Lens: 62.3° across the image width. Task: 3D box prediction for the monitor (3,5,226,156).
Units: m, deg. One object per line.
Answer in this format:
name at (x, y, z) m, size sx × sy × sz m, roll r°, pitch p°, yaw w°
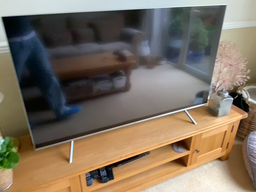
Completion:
monitor at (0.030, -0.120, 1.280) m, size 1.210 × 0.750 × 0.070 m, roll -12°, pitch 31°, yaw -22°
